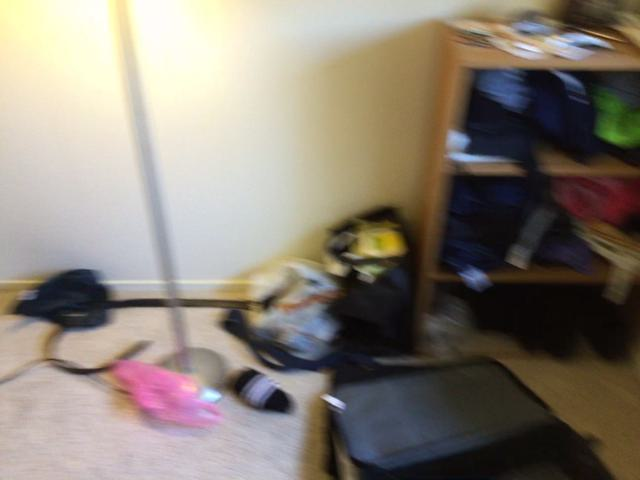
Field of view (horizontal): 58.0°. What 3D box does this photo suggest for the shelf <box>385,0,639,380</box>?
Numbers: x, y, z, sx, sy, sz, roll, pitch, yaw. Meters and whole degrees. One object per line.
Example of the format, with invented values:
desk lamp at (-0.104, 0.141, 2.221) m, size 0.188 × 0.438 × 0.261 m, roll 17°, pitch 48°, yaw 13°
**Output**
shelf at (0.550, -0.140, 1.500) m, size 0.690 × 1.020 × 0.340 m, roll 2°, pitch 33°, yaw 3°
